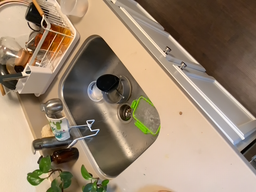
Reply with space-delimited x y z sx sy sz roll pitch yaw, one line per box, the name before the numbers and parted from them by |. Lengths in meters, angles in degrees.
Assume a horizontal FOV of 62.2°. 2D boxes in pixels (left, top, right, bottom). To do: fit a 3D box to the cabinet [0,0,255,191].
cabinet | -0.130 -0.320 1.480 0.700 0.910 1.860 -47 62 27
